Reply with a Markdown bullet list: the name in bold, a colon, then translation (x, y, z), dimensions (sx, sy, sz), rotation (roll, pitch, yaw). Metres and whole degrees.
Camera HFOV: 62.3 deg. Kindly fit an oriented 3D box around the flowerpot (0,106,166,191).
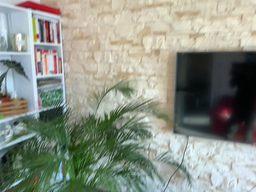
- **flowerpot**: translation (-0.440, 0.790, 1.850), dimensions (1.200, 1.090, 1.130), rotation (5, 12, 28)
